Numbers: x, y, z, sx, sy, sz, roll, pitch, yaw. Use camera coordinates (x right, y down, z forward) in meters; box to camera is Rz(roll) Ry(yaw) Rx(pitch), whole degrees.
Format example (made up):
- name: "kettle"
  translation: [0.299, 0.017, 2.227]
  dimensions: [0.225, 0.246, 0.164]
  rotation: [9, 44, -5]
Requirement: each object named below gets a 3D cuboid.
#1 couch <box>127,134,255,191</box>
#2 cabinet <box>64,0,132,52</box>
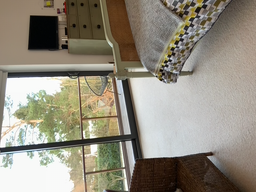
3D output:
- name: "couch"
  translation: [0.450, 0.820, 1.570]
  dimensions: [0.760, 0.720, 0.700]
  rotation: [-127, 36, -63]
- name: "cabinet"
  translation: [-0.630, -1.490, 4.160]
  dimensions: [0.510, 1.150, 1.160]
  rotation: [117, 146, -61]
